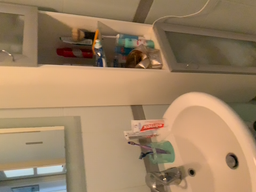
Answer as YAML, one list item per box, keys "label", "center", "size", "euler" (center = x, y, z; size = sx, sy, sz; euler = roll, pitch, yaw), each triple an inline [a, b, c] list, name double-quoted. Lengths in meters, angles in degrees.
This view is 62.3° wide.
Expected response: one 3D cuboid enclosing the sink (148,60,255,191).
- label: "sink"
  center: [0.340, 0.240, 0.790]
  size: [0.470, 0.240, 0.550]
  euler: [119, 144, -52]
